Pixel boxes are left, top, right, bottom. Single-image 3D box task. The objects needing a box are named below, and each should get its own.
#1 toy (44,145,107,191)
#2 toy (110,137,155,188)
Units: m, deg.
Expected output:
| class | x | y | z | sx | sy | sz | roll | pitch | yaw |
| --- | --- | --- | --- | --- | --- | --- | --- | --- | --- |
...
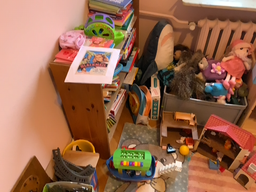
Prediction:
| class | x | y | z | sx | sy | sz | roll | pitch | yaw |
| --- | --- | --- | --- | --- | --- | --- | --- | --- | --- |
| toy | -0.310 | 0.540 | 1.310 | 0.260 | 0.230 | 0.370 | 6 | 44 | 7 |
| toy | 0.030 | 0.450 | 1.440 | 0.270 | 0.200 | 0.260 | 1 | 44 | 2 |
